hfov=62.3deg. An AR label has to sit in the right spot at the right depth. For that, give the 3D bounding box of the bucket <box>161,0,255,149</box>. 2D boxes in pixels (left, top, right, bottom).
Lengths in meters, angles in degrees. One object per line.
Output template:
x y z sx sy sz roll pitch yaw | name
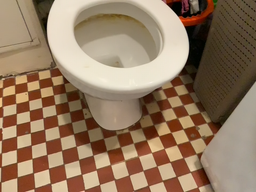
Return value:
0.460 -0.220 0.700 0.460 0.610 0.450 -16 56 -13 | bucket
